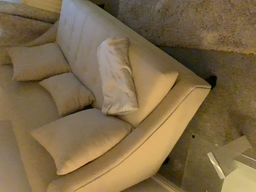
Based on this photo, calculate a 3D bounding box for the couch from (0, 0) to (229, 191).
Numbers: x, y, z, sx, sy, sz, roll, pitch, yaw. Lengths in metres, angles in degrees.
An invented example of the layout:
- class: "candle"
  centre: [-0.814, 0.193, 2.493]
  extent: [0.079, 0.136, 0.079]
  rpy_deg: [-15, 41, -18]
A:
- class: "couch"
  centre: [-0.390, -0.170, 1.730]
  extent: [1.740, 0.950, 0.960]
  rpy_deg: [45, 124, 39]
